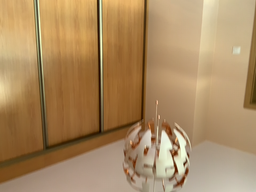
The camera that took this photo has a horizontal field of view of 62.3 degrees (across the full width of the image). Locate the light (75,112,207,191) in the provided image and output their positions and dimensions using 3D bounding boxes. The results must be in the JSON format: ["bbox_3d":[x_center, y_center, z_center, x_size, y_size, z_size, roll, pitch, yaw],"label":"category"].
[{"bbox_3d":[0.130,0.570,1.410,0.480,0.460,0.690,-35,-90,19],"label":"light"}]
